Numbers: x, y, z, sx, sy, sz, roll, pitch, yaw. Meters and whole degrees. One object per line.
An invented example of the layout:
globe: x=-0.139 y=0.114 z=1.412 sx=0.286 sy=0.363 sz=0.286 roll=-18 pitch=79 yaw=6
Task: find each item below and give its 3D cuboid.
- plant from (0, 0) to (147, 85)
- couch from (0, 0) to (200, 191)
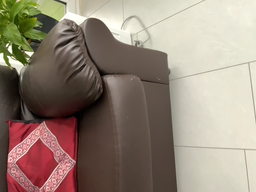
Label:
plant: x=-0.340 y=-0.330 z=1.100 sx=0.420 sy=0.820 sz=0.450 roll=-3 pitch=85 yaw=48
couch: x=-0.330 y=0.510 z=0.940 sx=0.900 sy=0.930 sz=1.530 roll=-8 pitch=81 yaw=47
